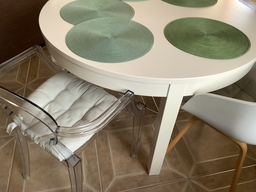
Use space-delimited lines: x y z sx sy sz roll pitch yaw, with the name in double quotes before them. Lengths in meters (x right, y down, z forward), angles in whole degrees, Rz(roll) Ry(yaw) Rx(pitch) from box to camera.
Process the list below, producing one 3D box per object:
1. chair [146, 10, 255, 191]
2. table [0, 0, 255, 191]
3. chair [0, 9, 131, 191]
"chair" 0.520 0.100 1.090 0.590 0.780 0.500 -27 52 -28
"table" 0.090 -0.220 1.410 1.150 0.740 1.170 25 48 20
"chair" -0.310 0.120 0.990 0.420 0.800 0.460 27 49 21
